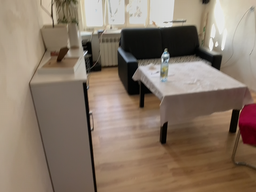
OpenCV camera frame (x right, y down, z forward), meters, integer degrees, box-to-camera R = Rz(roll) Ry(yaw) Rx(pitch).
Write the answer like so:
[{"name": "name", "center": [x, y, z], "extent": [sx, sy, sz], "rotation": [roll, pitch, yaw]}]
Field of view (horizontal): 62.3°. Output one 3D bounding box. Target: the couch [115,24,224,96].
[{"name": "couch", "center": [0.600, -0.670, 3.640], "extent": [1.500, 0.920, 0.910], "rotation": [-5, 27, -10]}]

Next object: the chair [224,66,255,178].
[{"name": "chair", "center": [1.270, 0.250, 1.900], "extent": [0.520, 0.840, 0.530], "rotation": [16, 30, 28]}]
